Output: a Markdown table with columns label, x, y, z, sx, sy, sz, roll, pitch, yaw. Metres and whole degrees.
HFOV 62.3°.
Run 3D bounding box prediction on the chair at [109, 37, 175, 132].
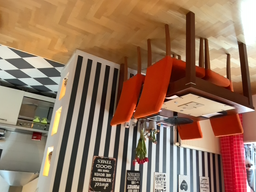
| label | x | y | z | sx | sy | sz | roll | pitch | yaw |
| --- | --- | --- | --- | --- | --- | --- | --- | --- | --- |
| chair | 0.190 | -0.100 | 2.650 | 0.590 | 0.970 | 0.480 | 16 | 158 | -29 |

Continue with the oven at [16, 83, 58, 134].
| label | x | y | z | sx | sy | sz | roll | pitch | yaw |
| --- | --- | --- | --- | --- | --- | --- | --- | --- | --- |
| oven | -1.950 | 0.300 | 4.530 | 0.570 | 0.890 | 0.650 | 15 | 158 | -26 |

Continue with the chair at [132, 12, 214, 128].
| label | x | y | z | sx | sy | sz | roll | pitch | yaw |
| --- | --- | --- | --- | --- | --- | --- | --- | --- | --- |
| chair | 0.470 | -0.220 | 2.240 | 0.600 | 0.970 | 0.510 | 16 | 158 | -29 |
